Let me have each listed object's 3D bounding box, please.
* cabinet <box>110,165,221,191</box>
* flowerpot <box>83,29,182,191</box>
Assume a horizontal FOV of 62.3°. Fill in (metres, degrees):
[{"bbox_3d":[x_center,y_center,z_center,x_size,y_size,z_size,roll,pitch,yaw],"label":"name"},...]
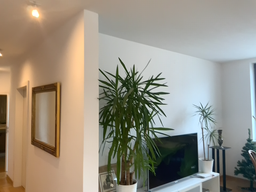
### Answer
[{"bbox_3d":[0.600,1.540,3.270,2.410,0.420,0.490,2,-4,-40],"label":"cabinet"},{"bbox_3d":[0.040,0.320,2.740,0.880,1.950,0.890,2,-4,-40],"label":"flowerpot"}]
